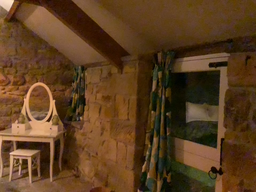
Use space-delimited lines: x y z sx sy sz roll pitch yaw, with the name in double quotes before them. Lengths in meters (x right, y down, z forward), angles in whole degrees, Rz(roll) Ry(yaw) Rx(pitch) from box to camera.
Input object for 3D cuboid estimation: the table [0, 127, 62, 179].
"table" -1.720 0.960 3.720 0.930 0.710 0.610 1 3 2
